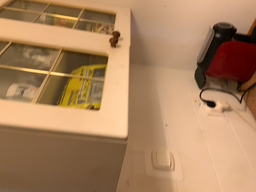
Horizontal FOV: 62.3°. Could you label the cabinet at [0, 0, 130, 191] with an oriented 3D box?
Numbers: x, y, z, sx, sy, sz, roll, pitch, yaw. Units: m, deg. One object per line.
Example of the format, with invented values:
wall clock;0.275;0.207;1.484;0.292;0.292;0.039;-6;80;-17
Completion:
cabinet;-0.310;-0.090;0.780;0.800;0.590;0.320;-89;9;-49
